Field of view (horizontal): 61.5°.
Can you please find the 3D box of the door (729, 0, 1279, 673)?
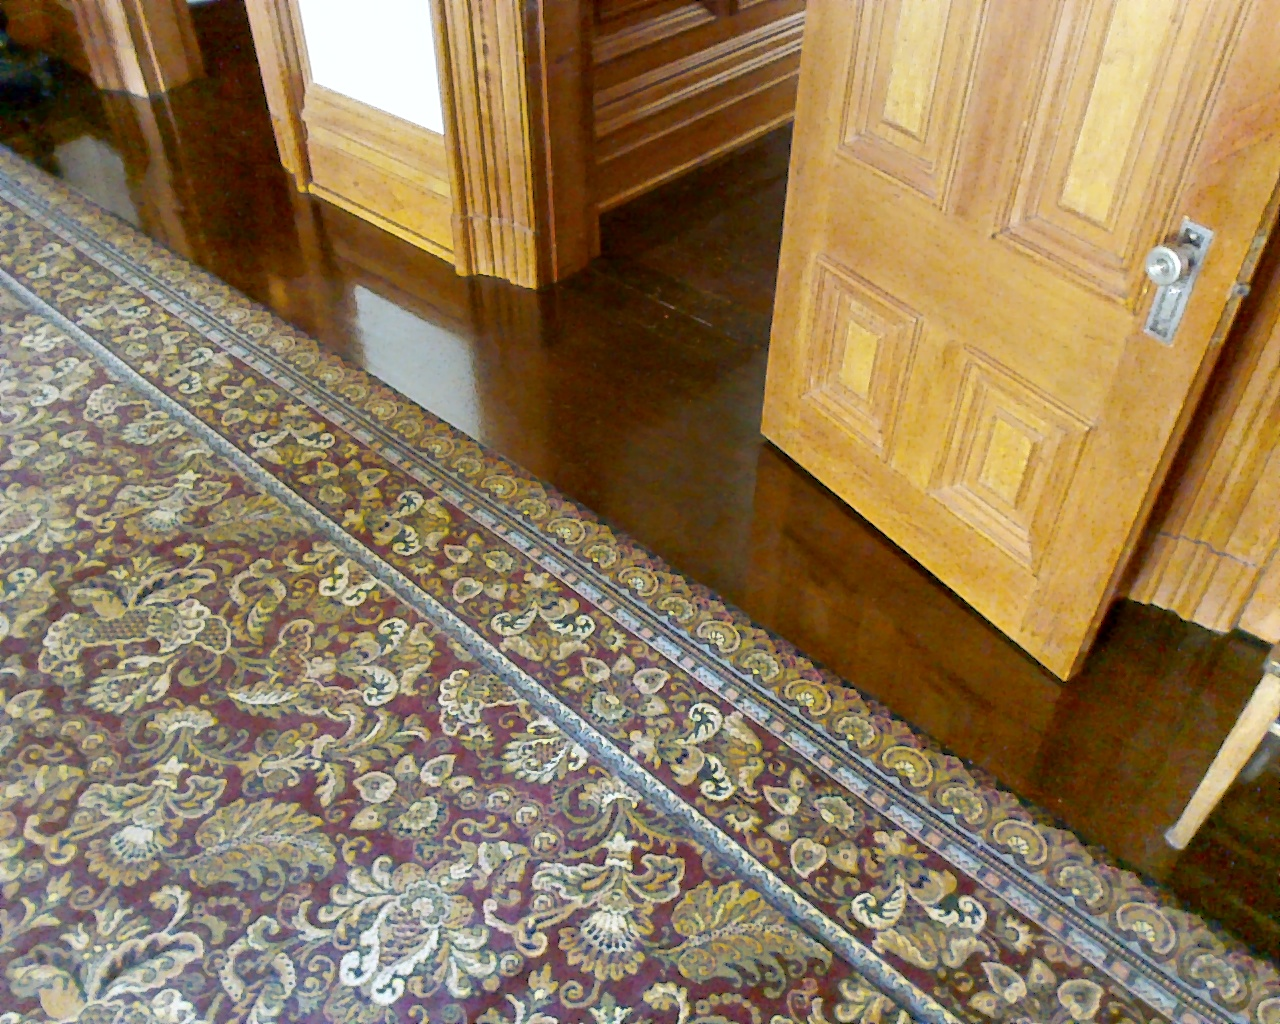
[{"bbox_3d":[0.570,-0.840,1.570,0.190,2.230,0.990,-24,48,-24],"label":"door"}]
